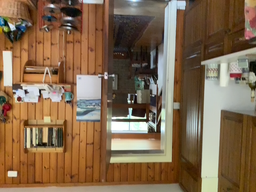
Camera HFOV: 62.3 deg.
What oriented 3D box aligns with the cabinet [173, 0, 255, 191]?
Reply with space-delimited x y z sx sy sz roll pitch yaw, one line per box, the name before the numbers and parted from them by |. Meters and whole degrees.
cabinet | 0.940 -0.030 2.440 0.570 2.360 0.700 1 -177 -6
